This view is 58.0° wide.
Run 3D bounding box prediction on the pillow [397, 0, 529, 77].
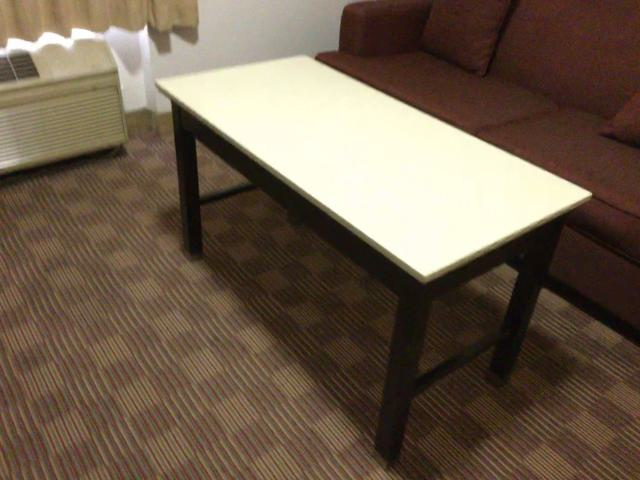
[{"bbox_3d":[0.600,-0.970,2.460,0.240,0.390,0.470,-20,40,-32],"label":"pillow"}]
